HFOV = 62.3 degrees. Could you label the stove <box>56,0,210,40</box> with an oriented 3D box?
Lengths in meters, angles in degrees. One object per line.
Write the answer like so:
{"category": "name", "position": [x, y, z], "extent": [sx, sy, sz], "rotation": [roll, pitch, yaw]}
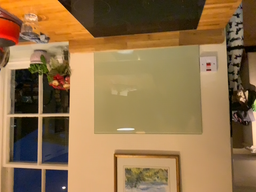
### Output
{"category": "stove", "position": [0.050, -0.410, 1.010], "extent": [0.610, 0.060, 0.540], "rotation": [-2, 176, 10]}

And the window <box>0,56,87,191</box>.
{"category": "window", "position": [-1.060, 0.540, 1.850], "extent": [1.420, 1.690, 0.120], "rotation": [-2, 176, 9]}
